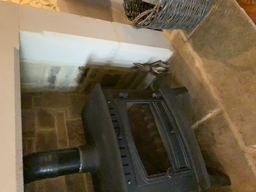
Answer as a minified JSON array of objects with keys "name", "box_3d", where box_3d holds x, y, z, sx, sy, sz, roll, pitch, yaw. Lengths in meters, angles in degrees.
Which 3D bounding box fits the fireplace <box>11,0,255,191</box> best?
[{"name":"fireplace","box_3d":[0.070,0.260,1.240,1.270,1.260,2.630,-50,49,48]}]
